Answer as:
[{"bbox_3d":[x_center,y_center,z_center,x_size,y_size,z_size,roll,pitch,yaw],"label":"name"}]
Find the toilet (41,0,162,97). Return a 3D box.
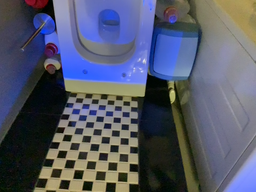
[{"bbox_3d":[-0.090,-0.320,0.890,0.390,0.340,0.530,4,130,-1],"label":"toilet"}]
